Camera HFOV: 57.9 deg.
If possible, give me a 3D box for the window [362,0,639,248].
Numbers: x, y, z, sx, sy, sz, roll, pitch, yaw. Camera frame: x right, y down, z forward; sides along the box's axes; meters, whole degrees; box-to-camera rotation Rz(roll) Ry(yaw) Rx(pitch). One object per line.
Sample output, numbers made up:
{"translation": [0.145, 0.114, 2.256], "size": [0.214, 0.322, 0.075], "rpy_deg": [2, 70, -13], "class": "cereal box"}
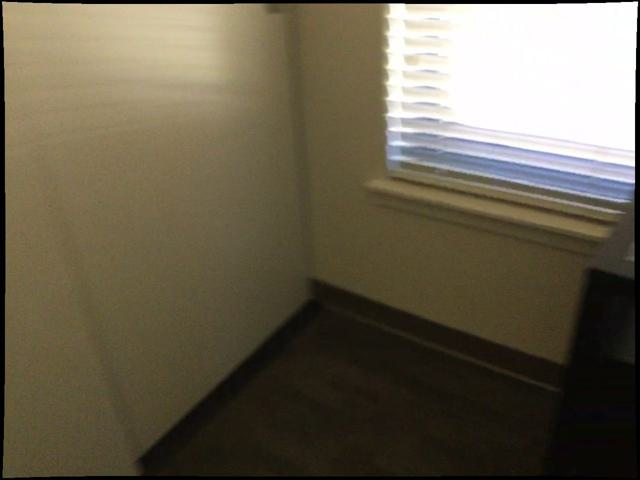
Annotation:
{"translation": [0.639, -0.390, 1.260], "size": [1.199, 0.811, 0.120], "rpy_deg": [17, 38, 31], "class": "window"}
